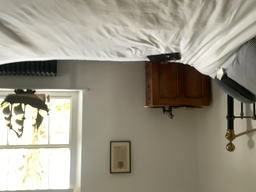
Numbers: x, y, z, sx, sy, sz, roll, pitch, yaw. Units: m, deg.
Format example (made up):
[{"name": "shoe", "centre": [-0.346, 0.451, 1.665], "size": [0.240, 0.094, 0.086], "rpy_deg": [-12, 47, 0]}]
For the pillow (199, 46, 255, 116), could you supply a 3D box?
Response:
[{"name": "pillow", "centre": [0.810, -0.030, 1.360], "size": [0.230, 0.530, 0.510], "rpy_deg": [-53, -166, 16]}]
